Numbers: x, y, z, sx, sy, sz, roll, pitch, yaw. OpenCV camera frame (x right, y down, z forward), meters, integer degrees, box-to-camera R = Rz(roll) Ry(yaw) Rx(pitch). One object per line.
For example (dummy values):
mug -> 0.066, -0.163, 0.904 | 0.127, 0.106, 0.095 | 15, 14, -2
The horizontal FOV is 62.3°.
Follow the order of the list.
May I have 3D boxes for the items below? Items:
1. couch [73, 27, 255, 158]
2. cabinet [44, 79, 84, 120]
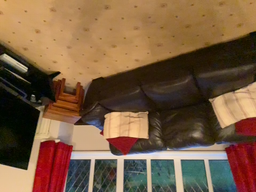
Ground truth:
couch -> 0.580, 0.130, 2.540 | 2.220, 0.810, 0.980 | -14, 149, 25
cabinet -> -0.890, 0.060, 2.990 | 0.460, 0.400, 0.390 | 7, 151, -13
